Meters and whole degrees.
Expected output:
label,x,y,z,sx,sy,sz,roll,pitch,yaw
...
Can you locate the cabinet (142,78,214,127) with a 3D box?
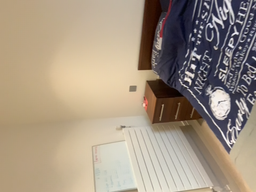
label,x,y,z,sx,sy,sz,roll,pitch,yaw
cabinet,0.590,0.070,2.660,0.440,0.710,0.400,-108,20,-54
